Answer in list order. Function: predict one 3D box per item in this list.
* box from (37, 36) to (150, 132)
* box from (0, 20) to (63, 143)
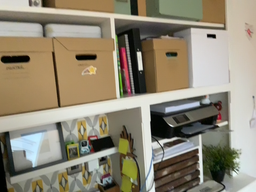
[{"bbox_3d":[-0.150,-0.070,0.980,0.430,0.350,0.230,-8,7,-31],"label":"box"},{"bbox_3d":[-0.460,-0.050,0.770,0.350,0.390,0.210,-8,7,-32],"label":"box"}]
